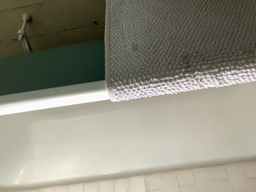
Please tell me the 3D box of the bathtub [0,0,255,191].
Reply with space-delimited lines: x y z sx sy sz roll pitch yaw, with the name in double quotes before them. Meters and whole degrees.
"bathtub" -0.050 -0.020 0.920 1.660 0.540 0.710 -9 144 4
